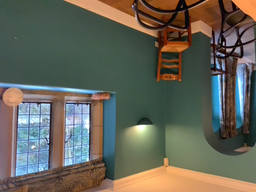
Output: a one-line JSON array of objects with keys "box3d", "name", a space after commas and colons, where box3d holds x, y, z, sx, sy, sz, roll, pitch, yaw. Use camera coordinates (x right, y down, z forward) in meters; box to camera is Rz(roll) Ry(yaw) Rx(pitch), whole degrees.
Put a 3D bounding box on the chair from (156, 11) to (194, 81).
[{"box3d": [0.730, -0.750, 3.380, 0.430, 0.980, 0.480, 0, 177, -9], "name": "chair"}]
